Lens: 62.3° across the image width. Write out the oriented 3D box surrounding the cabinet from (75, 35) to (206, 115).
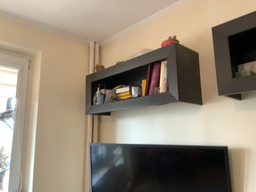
[{"bbox_3d":[0.010,-0.090,1.890,0.340,0.410,1.240,10,-14,-43],"label":"cabinet"}]
